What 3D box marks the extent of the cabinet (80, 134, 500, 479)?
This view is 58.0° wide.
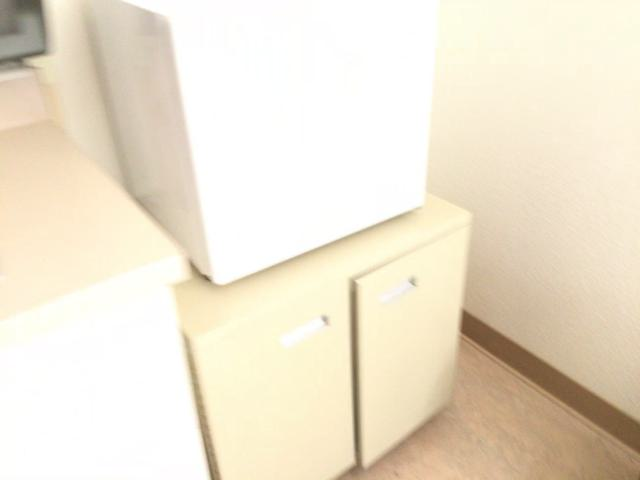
[{"bbox_3d":[-0.070,0.200,1.400,0.710,0.660,0.560,-19,34,-30],"label":"cabinet"}]

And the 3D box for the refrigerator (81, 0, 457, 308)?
[{"bbox_3d":[-0.110,-0.270,1.150,0.500,0.490,0.500,-19,34,-30],"label":"refrigerator"}]
